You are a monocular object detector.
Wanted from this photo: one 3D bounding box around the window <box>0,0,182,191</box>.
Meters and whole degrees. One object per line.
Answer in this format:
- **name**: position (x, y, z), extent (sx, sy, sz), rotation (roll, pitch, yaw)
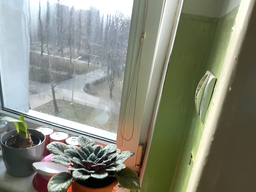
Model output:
- **window**: position (-0.230, -0.390, 0.750), extent (0.830, 1.470, 0.160), rotation (14, 18, 11)
